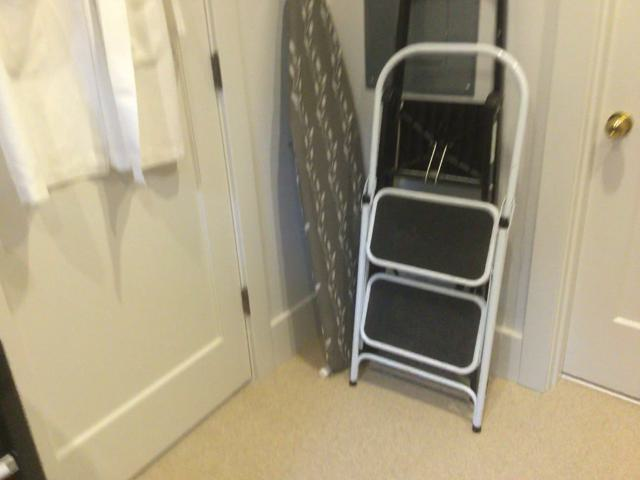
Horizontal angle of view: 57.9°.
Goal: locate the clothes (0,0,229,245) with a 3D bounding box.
[{"bbox_3d":[-0.500,-0.560,1.080,0.140,1.000,0.630,15,31,33],"label":"clothes"}]
